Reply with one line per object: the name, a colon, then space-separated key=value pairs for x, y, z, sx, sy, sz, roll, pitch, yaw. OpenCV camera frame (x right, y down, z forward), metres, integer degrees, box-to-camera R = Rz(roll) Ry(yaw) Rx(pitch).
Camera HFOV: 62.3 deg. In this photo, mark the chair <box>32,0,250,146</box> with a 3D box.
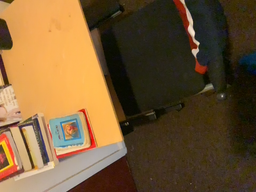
chair: x=0.130 y=-0.180 z=0.900 sx=0.530 sy=0.710 sz=0.490 roll=-21 pitch=84 yaw=29
